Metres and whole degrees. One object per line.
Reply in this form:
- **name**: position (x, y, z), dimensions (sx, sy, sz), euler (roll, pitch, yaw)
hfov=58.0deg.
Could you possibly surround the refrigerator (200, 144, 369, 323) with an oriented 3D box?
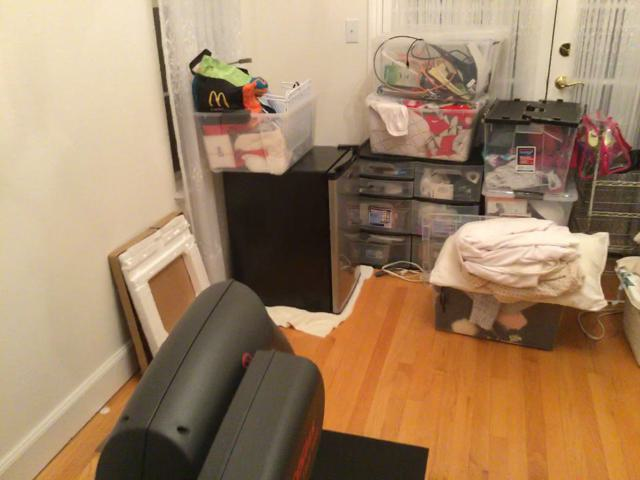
- **refrigerator**: position (-0.130, -0.060, 2.660), dimensions (0.610, 0.670, 0.470), euler (4, 21, 17)

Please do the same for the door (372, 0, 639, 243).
- **door**: position (1.120, -0.600, 2.740), dimensions (1.750, 1.220, 0.080), euler (4, 21, 17)
